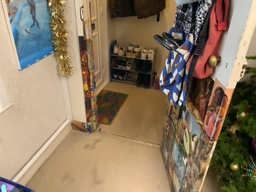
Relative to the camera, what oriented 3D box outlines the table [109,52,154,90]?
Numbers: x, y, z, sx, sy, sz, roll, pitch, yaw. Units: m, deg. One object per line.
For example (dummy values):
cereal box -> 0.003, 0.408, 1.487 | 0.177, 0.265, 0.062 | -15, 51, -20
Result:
table -> 0.050, -0.390, 3.230 | 0.620, 0.410, 0.280 | 10, 33, 12
